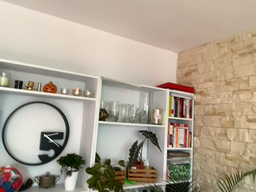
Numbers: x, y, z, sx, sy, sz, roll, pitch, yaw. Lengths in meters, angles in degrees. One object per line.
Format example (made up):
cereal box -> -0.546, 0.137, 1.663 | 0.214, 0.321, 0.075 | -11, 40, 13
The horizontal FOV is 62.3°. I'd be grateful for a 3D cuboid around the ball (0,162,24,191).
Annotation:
ball -> -0.910, 0.640, 1.570 | 0.200, 0.240, 0.220 | 8, -9, -33
